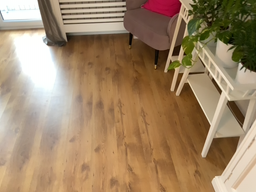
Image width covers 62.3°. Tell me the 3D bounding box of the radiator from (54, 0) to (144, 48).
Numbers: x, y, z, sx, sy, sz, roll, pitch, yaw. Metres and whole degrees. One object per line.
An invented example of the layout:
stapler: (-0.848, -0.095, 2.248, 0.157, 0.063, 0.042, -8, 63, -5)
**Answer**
radiator: (-0.340, -1.060, 2.670, 1.040, 0.860, 0.190, -4, 43, -5)

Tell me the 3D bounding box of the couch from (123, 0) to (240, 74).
couch: (0.460, -0.950, 2.360, 0.920, 0.920, 1.000, -4, 43, -6)

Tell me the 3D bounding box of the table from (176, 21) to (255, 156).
table: (0.750, -0.070, 1.590, 0.480, 0.680, 0.720, -3, 43, -5)
